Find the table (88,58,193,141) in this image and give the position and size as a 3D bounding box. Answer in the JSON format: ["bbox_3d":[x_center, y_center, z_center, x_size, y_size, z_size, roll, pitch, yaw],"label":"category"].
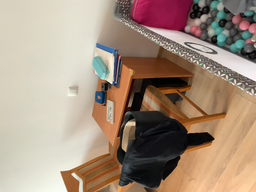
[{"bbox_3d":[0.090,-0.010,1.970,0.510,0.710,0.500,46,130,43],"label":"table"}]

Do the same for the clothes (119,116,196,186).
[{"bbox_3d":[0.170,0.300,1.210,0.110,0.390,0.310,41,127,46],"label":"clothes"}]

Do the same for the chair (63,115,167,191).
[{"bbox_3d":[-0.130,0.560,2.190,0.420,0.910,0.460,45,129,44],"label":"chair"}]

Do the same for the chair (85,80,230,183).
[{"bbox_3d":[0.220,0.190,1.610,0.480,0.910,0.430,43,128,45],"label":"chair"}]
